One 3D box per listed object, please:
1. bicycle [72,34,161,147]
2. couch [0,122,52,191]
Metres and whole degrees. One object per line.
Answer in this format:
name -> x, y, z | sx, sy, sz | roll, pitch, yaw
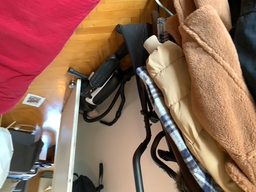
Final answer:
bicycle -> -0.150, -0.010, 2.060 | 0.390, 0.760, 0.770 | 21, 142, -36
couch -> -2.340, 1.310, 3.920 | 0.960, 0.930, 1.960 | 20, 142, -36
